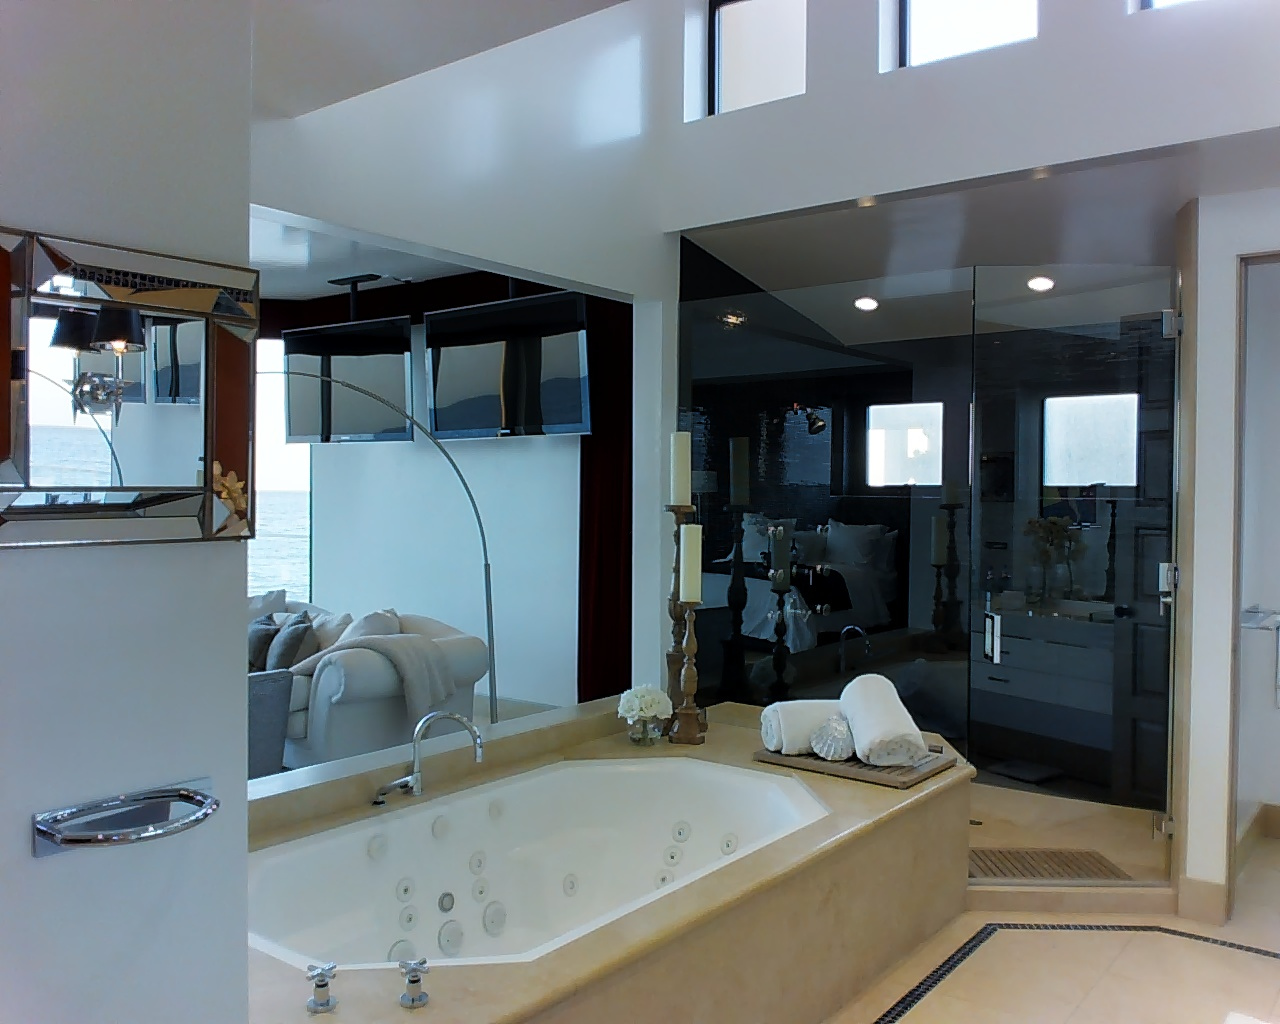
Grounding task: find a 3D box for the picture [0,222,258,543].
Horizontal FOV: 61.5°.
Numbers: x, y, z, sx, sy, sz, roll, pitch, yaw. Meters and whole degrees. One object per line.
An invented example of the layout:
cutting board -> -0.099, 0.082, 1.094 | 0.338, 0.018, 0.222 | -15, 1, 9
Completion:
picture -> -0.690, -0.160, 1.450 | 0.030, 0.390, 0.370 | 1, 1, 38
